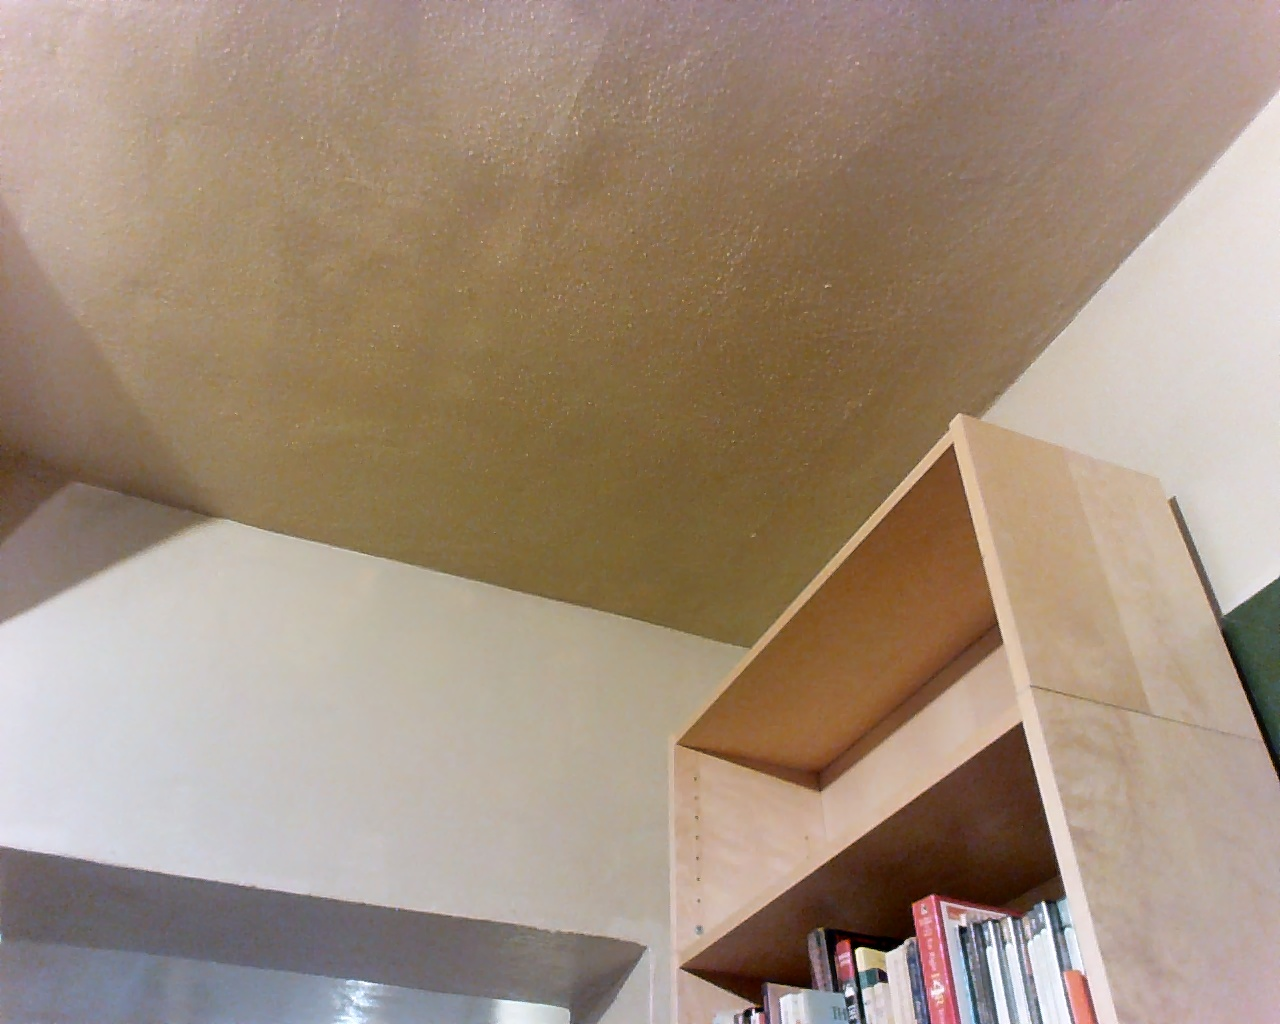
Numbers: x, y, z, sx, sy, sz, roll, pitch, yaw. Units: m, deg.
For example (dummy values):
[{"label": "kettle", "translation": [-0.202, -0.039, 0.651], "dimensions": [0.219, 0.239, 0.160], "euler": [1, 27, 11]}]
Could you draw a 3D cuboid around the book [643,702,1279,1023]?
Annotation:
[{"label": "book", "translation": [0.320, 0.570, 1.180], "dimensions": [0.320, 0.290, 0.860], "euler": [16, -42, -17]}]
